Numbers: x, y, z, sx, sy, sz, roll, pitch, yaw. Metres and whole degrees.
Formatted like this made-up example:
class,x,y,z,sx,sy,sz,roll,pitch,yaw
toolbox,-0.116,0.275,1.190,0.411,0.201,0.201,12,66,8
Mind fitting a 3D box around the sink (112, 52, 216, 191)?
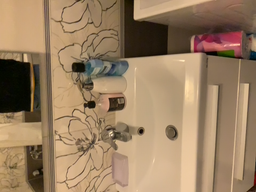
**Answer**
class,x,y,z,sx,sy,sz,roll,pitch,yaw
sink,0.110,0.160,0.860,0.400,0.130,0.640,10,101,49
